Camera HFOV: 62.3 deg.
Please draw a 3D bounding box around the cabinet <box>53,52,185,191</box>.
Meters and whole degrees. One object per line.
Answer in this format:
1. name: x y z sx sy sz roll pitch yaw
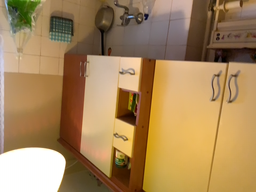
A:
1. cabinet: -0.160 0.110 1.530 0.360 0.770 0.970 -1 -169 -41
